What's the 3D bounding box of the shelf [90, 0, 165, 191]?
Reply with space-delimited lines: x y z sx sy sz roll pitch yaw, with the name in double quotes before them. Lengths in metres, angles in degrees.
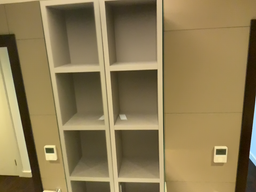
"shelf" 0.030 0.110 0.990 0.260 1.040 0.230 -1 16 6
